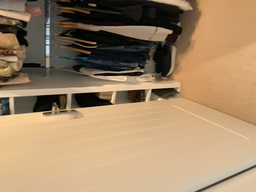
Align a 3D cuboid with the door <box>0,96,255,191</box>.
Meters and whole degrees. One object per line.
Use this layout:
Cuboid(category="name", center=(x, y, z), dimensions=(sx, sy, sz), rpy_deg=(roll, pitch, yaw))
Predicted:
Cuboid(category="door", center=(-0.180, 0.200, 0.820), dimensions=(0.820, 1.990, 0.010), rpy_deg=(32, 119, 52))
